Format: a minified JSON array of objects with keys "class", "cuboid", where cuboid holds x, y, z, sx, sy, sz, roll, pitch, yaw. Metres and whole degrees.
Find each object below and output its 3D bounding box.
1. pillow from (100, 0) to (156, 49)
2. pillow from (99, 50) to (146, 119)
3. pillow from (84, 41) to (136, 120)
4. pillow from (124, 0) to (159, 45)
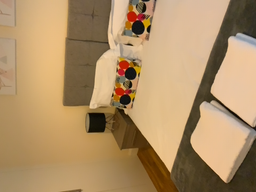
[{"class":"pillow","cuboid":[0.010,-0.910,2.080,0.150,0.540,0.780,42,141,50]},{"class":"pillow","cuboid":[-0.040,-0.120,2.350,0.150,0.330,0.670,30,145,50]},{"class":"pillow","cuboid":[-0.180,-0.170,2.440,0.160,0.500,0.790,41,143,49]},{"class":"pillow","cuboid":[0.130,-0.830,2.030,0.180,0.270,0.590,43,147,44]}]
